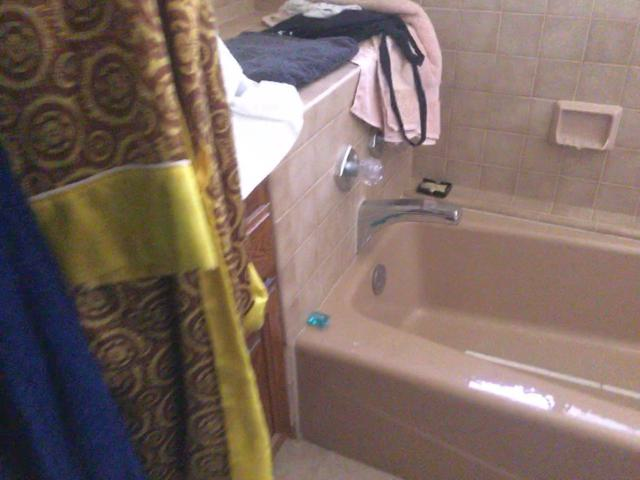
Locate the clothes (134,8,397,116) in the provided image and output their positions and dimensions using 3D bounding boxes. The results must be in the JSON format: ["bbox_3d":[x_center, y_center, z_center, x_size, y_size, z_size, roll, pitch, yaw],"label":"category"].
[{"bbox_3d":[-0.090,-0.430,1.320,0.360,0.070,0.560,11,36,24],"label":"clothes"}]

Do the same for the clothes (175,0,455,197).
[{"bbox_3d":[0.020,-0.440,1.530,0.550,0.420,0.450,11,36,24],"label":"clothes"}]

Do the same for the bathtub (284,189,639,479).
[{"bbox_3d":[0.890,0.330,1.320,1.740,0.330,0.810,11,36,24],"label":"bathtub"}]
